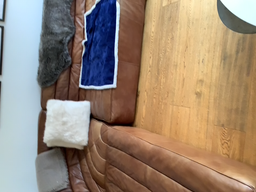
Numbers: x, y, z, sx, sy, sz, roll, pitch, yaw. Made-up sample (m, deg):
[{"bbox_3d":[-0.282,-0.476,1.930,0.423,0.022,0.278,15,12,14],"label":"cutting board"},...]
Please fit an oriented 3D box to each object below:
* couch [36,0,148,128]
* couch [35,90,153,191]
[{"bbox_3d":[-0.470,-0.660,2.420,1.170,0.750,1.780,9,95,55],"label":"couch"},{"bbox_3d":[-0.480,0.660,2.340,1.180,0.740,0.810,-58,44,35],"label":"couch"}]
